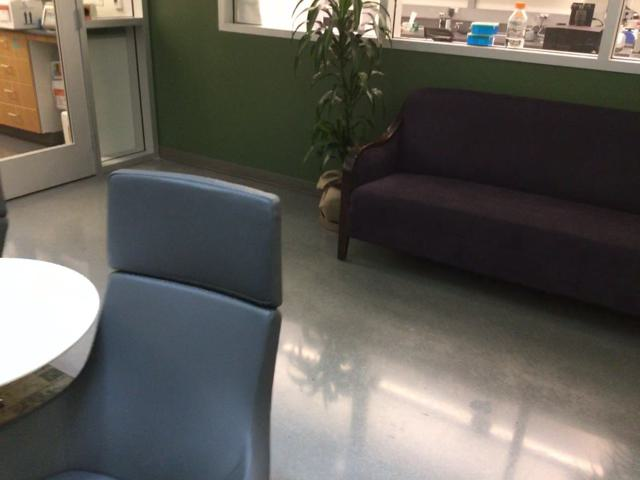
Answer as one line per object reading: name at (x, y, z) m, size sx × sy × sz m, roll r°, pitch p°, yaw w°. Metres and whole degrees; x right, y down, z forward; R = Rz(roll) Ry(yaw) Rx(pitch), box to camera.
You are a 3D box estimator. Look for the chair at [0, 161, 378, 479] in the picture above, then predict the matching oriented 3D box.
chair at (-0.390, 0.360, 1.050) m, size 0.750 × 0.840 × 0.730 m, roll 9°, pitch 18°, yaw 21°
